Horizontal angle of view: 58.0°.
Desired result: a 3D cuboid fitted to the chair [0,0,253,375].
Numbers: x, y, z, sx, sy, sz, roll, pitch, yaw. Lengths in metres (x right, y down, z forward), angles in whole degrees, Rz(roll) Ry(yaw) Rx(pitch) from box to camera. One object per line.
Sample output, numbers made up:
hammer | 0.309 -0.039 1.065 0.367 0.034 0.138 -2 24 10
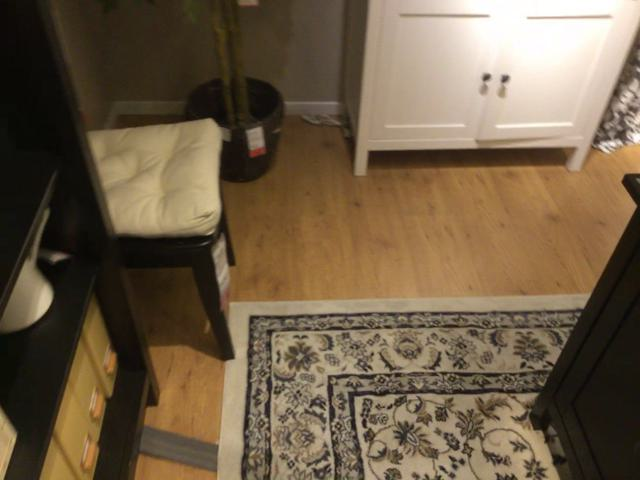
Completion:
chair | -0.490 -0.140 1.360 0.550 0.790 0.510 -3 43 0

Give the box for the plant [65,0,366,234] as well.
plant | -0.270 -0.880 1.660 0.740 1.620 0.730 -3 43 0
